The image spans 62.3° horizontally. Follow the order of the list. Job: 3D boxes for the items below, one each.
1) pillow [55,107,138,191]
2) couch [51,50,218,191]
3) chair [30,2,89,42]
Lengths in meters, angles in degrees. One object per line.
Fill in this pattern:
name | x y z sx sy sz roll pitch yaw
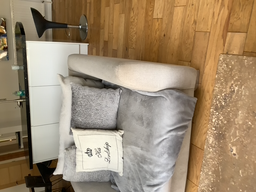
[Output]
pillow | -0.230 0.430 1.710 0.470 0.470 0.130 51 163 -31
couch | -0.090 0.340 1.780 1.140 0.770 1.340 23 114 55
chair | -1.010 -1.070 3.130 0.340 0.720 0.360 -46 56 50
